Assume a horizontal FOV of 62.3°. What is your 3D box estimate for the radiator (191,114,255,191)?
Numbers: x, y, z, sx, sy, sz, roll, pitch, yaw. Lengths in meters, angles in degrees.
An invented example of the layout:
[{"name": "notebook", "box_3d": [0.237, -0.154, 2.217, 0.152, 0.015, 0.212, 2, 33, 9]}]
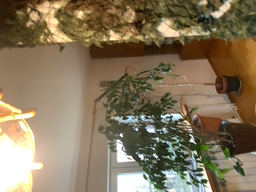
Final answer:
[{"name": "radiator", "box_3d": [1.290, 0.680, 2.620, 0.140, 0.750, 0.980, 89, 177, -49]}]
